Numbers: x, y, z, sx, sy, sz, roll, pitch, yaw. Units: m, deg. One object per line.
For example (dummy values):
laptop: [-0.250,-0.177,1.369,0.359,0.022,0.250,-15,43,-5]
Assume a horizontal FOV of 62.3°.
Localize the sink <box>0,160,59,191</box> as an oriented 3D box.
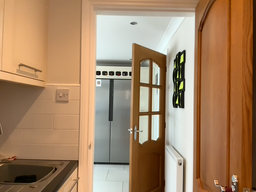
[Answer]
sink: [-0.640,0.490,1.170,0.390,0.160,0.390,2,-2,-1]
